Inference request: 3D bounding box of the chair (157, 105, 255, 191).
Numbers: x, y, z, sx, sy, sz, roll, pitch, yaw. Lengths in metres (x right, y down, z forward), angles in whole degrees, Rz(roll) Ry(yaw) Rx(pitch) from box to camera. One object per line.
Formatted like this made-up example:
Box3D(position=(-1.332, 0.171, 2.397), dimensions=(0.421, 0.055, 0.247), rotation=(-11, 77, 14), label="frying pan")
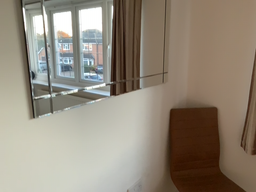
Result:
Box3D(position=(0.580, 0.630, 1.610), dimensions=(0.510, 0.960, 0.660), rotation=(-3, 13, -10), label="chair")
